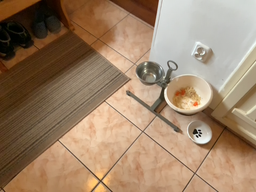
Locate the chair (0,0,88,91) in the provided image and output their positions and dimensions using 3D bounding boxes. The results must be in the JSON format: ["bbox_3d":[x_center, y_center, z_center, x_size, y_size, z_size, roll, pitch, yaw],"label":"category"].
[{"bbox_3d":[-0.770,-0.650,1.340,0.660,0.910,0.620,38,66,17],"label":"chair"}]
